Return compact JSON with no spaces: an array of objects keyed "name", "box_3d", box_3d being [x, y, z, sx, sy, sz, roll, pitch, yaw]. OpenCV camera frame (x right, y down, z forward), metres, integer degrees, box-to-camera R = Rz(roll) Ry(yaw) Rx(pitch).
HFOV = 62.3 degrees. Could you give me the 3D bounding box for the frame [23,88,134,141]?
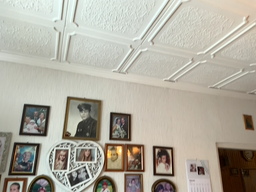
[{"name":"frame","box_3d":[-0.350,0.160,1.680,0.820,0.340,0.060,7,-21,-18]}]
